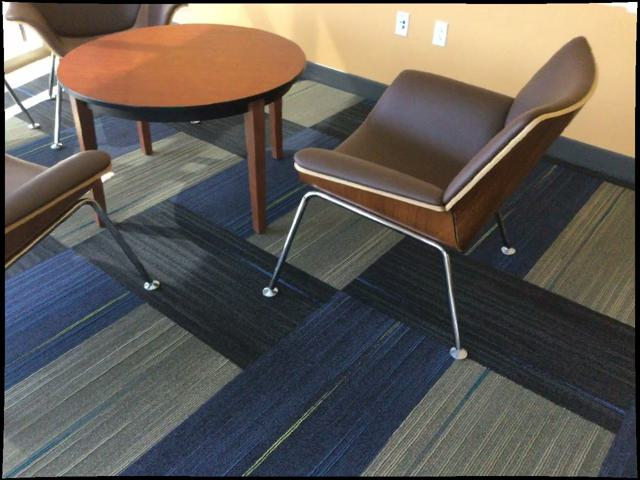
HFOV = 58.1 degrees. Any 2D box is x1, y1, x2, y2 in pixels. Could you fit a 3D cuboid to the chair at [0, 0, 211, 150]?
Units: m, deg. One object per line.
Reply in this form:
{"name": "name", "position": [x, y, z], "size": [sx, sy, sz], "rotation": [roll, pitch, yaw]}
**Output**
{"name": "chair", "position": [-1.167, -1.073, 2.940], "size": [0.898, 0.731, 0.840], "rotation": [-18, 42, -22]}

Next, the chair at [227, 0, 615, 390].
{"name": "chair", "position": [0.329, -0.241, 1.830], "size": [0.789, 0.751, 0.890], "rotation": [20, 42, 23]}
